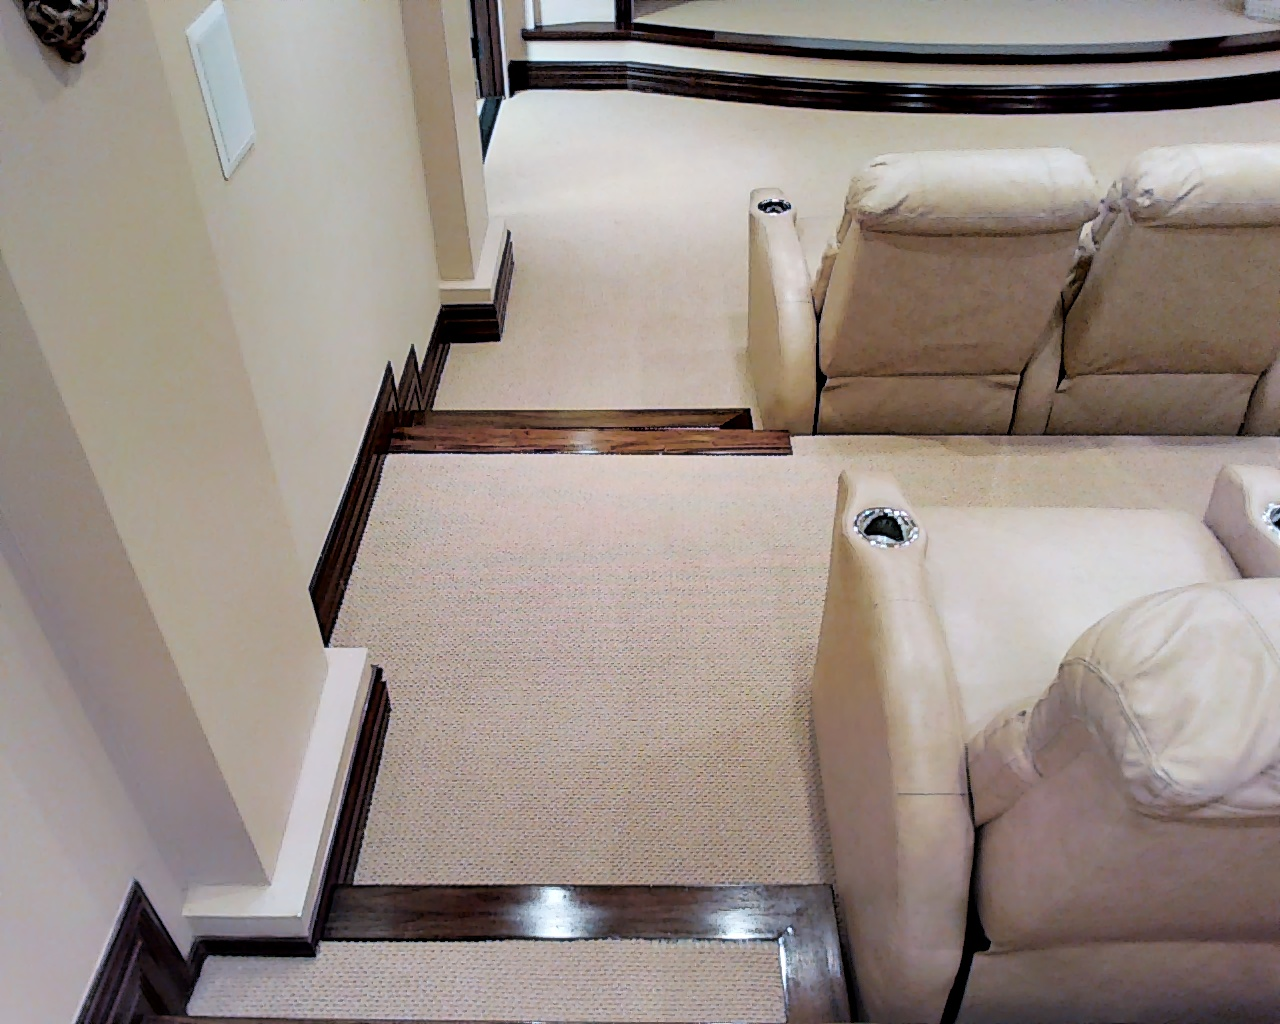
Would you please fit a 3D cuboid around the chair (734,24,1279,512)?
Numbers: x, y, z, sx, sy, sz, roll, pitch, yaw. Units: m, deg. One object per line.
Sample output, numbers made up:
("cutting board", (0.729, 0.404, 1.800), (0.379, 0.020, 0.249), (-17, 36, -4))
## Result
("chair", (1.851, -0.750, 3.200), (3.011, 1.040, 1.090), (0, 40, 0))
